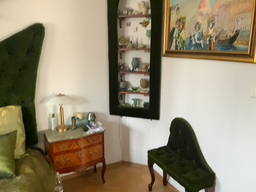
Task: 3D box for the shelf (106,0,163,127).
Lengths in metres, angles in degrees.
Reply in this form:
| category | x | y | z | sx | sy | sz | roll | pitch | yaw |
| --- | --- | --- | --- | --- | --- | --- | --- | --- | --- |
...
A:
| category | x | y | z | sx | sy | sz | roll | pitch | yaw |
| --- | --- | --- | --- | --- | --- | --- | --- | --- | --- |
| shelf | 0.050 | -0.590 | 2.420 | 0.450 | 1.750 | 0.490 | -6 | 14 | -26 |

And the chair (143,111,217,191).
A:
| category | x | y | z | sx | sy | sz | roll | pitch | yaw |
| --- | --- | --- | --- | --- | --- | --- | --- | --- | --- |
| chair | 0.450 | 0.690 | 2.090 | 0.260 | 0.900 | 0.720 | -6 | 14 | -25 |
